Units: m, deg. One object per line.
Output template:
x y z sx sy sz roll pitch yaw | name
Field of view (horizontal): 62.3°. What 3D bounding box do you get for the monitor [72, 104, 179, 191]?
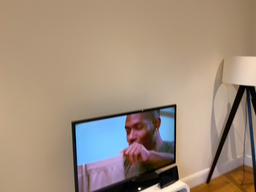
0.050 0.410 1.630 0.940 0.590 0.020 -7 10 -33 | monitor
